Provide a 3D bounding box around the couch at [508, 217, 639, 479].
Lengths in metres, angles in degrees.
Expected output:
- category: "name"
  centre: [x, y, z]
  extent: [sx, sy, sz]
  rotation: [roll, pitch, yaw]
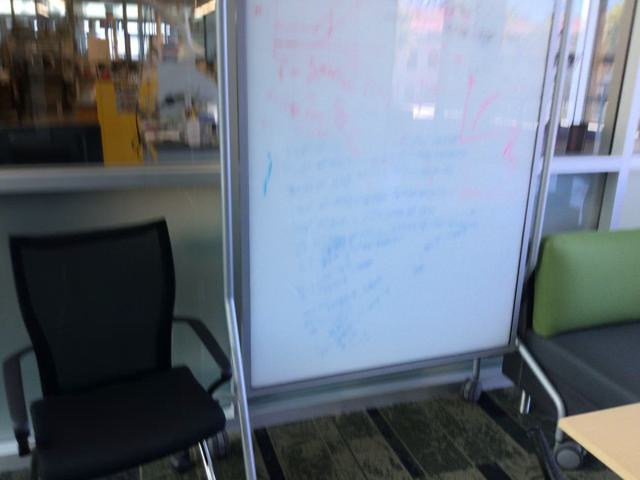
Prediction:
- category: "couch"
  centre: [1.230, 0.420, 2.080]
  extent: [0.730, 0.840, 0.710]
  rotation: [-6, 16, -16]
